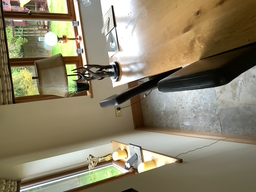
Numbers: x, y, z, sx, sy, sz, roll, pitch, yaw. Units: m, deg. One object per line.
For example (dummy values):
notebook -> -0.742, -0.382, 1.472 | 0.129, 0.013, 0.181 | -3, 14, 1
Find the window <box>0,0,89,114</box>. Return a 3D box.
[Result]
window -> -1.330, -0.800, 3.000 | 0.140, 1.310, 1.970 | -7, 91, 63

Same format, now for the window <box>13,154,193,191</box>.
window -> -0.340, 0.720, 1.640 | 1.330, 0.990, 0.100 | -13, 85, 63
